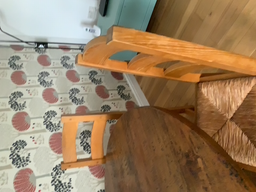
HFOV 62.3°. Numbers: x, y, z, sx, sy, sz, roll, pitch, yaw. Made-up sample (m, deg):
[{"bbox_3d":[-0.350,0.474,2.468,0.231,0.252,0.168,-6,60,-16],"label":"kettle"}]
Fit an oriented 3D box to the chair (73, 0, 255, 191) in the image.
[{"bbox_3d":[0.340,0.010,0.920,0.480,1.010,0.540,1,95,64],"label":"chair"}]
